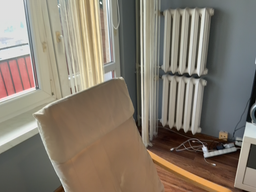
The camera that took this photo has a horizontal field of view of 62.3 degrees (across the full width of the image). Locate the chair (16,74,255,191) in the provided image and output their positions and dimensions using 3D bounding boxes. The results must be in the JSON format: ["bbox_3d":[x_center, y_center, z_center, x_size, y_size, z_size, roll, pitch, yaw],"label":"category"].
[{"bbox_3d":[0.110,0.500,0.950,0.760,0.980,0.610,13,26,33],"label":"chair"}]
